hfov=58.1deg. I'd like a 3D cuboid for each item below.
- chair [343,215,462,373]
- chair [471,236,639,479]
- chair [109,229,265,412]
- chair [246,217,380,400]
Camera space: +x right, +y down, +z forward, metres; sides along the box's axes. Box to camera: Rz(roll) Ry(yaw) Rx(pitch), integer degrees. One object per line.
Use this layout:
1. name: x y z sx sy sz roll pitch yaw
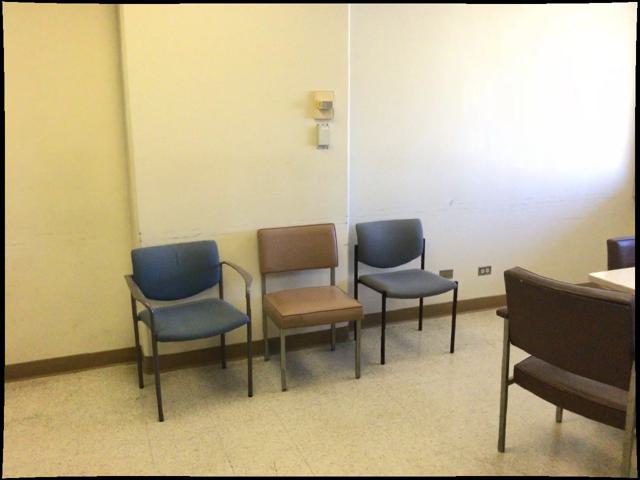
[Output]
1. chair: 0.489 0.301 3.590 0.479 0.772 0.630 -6 14 -18
2. chair: 1.107 0.501 2.290 0.629 0.832 0.719 -11 16 -33
3. chair: -0.728 0.371 3.080 0.619 0.662 0.740 -8 15 -24
4. chair: -0.050 0.341 3.250 0.559 0.802 0.600 -7 15 -20
